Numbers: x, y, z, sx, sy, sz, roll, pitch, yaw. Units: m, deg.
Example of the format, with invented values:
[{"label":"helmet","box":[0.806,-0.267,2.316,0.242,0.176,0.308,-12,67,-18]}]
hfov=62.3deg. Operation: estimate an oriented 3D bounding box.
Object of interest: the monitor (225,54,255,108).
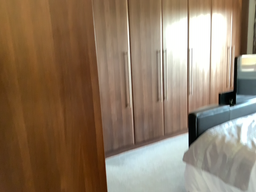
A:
[{"label":"monitor","box":[1.200,-0.170,2.090,0.690,0.460,0.050,-9,13,-30]}]
